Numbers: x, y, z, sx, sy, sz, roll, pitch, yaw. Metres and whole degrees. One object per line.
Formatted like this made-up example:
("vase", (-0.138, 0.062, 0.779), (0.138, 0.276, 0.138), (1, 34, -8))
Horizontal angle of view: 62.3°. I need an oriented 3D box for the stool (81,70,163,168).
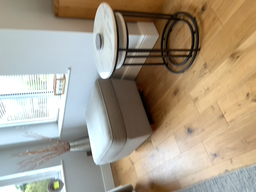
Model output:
("stool", (-0.120, 0.230, 2.030), (0.710, 0.450, 0.630), (119, 140, -51))
